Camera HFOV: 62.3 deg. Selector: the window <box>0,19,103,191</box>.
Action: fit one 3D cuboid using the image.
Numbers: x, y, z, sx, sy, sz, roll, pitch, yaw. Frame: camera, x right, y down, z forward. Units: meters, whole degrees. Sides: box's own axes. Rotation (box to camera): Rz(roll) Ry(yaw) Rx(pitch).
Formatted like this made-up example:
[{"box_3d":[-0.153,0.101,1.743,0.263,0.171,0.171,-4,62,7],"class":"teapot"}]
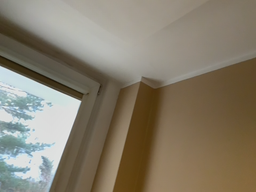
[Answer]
[{"box_3d":[-0.750,0.440,1.150,0.860,1.670,0.110,29,-25,-32],"class":"window"}]
